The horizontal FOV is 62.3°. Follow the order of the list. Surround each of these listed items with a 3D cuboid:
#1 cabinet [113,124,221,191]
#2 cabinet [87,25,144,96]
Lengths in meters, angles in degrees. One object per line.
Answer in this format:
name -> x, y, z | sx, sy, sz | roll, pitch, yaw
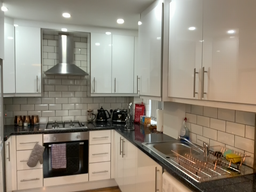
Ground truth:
cabinet -> 0.300, 0.930, 2.480 | 0.600, 0.930, 1.470 | 0, 2, -18
cabinet -> -0.210, -0.540, 3.460 | 0.880, 1.060, 0.310 | 0, 2, -18
